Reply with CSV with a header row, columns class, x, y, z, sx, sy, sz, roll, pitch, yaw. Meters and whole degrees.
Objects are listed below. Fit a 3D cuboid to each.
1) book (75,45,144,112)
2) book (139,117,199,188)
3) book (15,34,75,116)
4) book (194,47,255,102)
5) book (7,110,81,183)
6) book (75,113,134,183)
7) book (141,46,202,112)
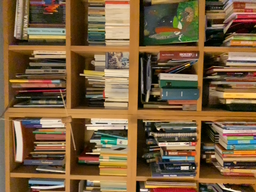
class,x,y,z,sx,sy,sz,roll,pitch,yaw
book,-0.110,-0.110,1.400,0.290,0.400,0.390,-67,-22,-87
book,0.250,0.350,1.410,0.310,0.330,0.370,-55,-33,-88
book,-0.540,-0.130,1.430,0.290,0.280,0.490,-55,-33,-88
book,0.680,-0.140,1.420,0.300,0.370,0.320,-72,-16,-86
book,-0.550,0.320,1.450,0.310,0.370,0.400,-70,-18,-86
book,-0.140,0.330,1.440,0.300,0.350,0.380,-70,-18,-86
book,0.270,-0.110,1.410,0.230,0.350,0.390,-72,-16,-86
